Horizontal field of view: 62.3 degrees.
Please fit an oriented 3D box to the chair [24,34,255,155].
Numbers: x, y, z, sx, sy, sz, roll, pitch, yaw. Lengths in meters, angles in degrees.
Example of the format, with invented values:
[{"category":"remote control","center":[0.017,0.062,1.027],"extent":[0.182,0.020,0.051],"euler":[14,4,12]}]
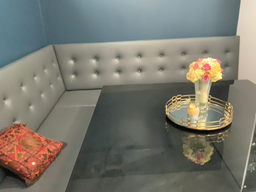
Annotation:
[{"category":"chair","center":[0.180,-0.050,2.400],"extent":[2.190,1.100,0.610],"euler":[-3,22,-2]}]
